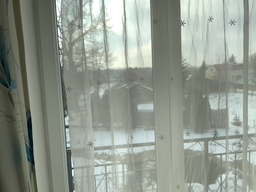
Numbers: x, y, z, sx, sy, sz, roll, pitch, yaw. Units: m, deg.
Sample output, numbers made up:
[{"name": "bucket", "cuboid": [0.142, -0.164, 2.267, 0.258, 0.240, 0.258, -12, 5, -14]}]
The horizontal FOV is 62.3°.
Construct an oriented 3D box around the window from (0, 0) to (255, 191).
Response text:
[{"name": "window", "cuboid": [0.330, 0.320, 0.930, 2.020, 2.610, 0.130, -3, 5, -8]}]
